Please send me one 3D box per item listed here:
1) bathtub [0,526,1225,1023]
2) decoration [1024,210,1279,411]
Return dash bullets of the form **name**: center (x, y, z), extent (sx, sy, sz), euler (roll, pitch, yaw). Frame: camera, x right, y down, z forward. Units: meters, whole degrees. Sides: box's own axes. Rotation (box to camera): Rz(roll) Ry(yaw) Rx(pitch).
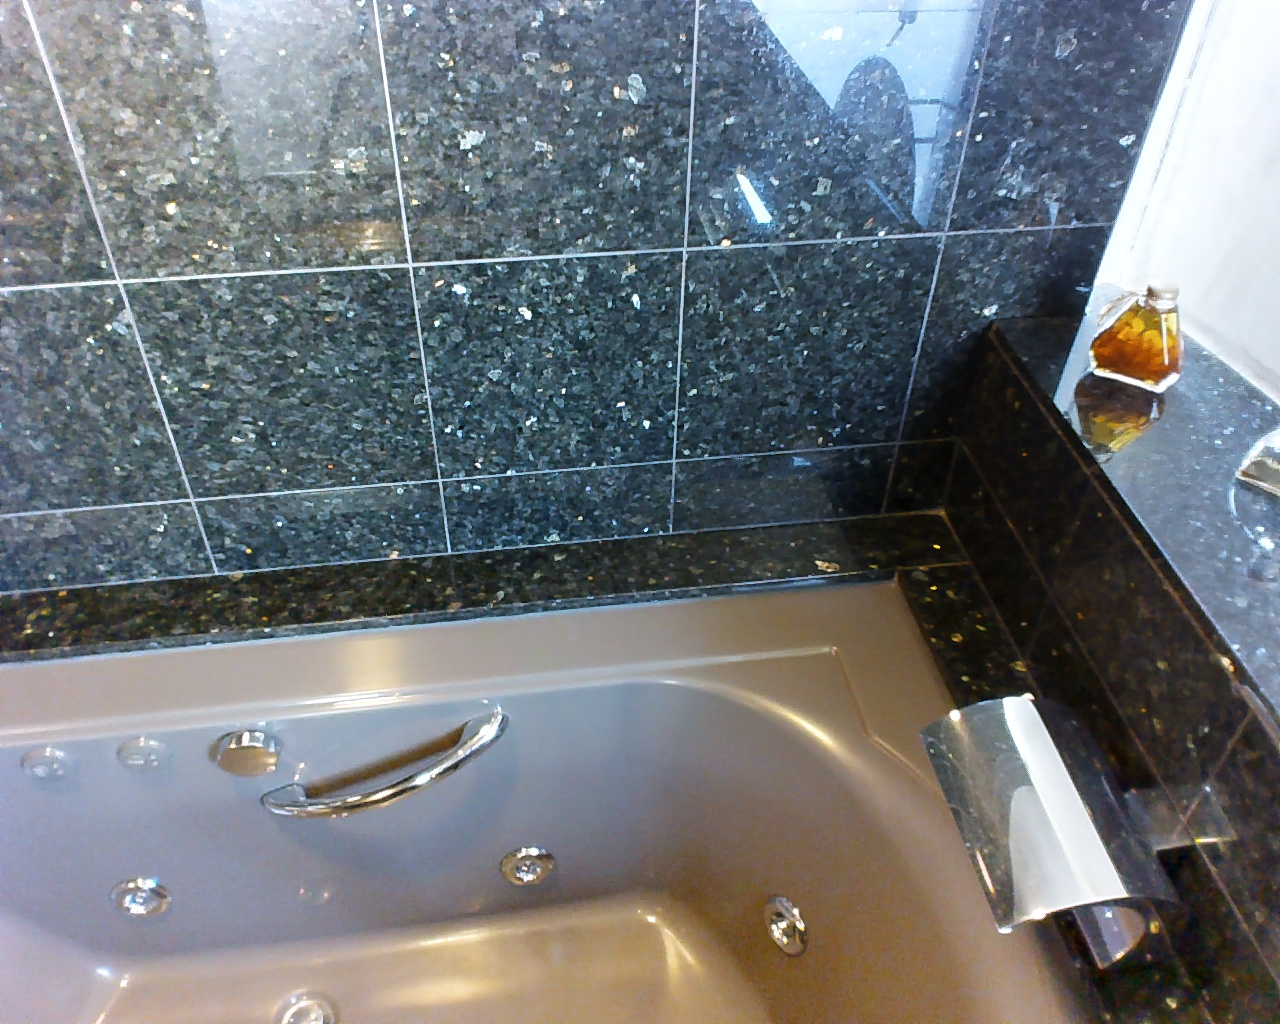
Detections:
- **bathtub**: center (-0.380, 0.670, 1.240), extent (1.830, 0.610, 1.080), euler (-4, 42, -7)
- **decoration**: center (0.600, -0.240, 1.250), extent (0.190, 0.130, 0.190), euler (-10, 43, -13)
